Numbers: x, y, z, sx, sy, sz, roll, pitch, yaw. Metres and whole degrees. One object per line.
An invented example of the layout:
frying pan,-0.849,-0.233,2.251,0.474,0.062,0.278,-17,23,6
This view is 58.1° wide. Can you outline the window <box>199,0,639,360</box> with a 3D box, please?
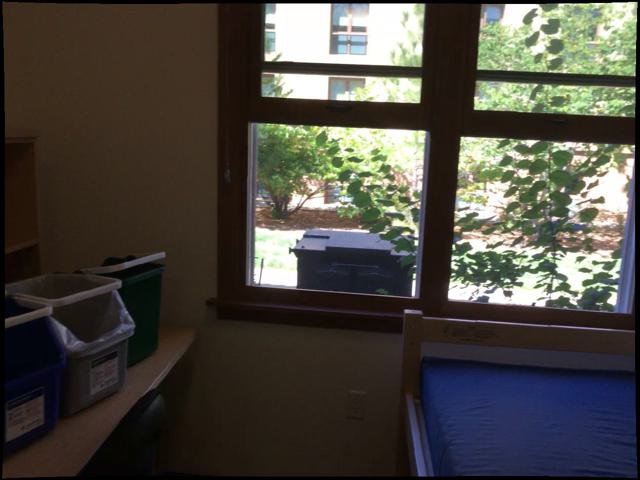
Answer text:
window,0.469,-0.281,2.260,1.835,1.313,0.270,5,12,6
